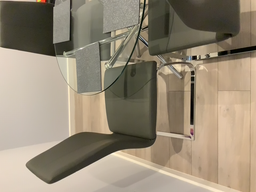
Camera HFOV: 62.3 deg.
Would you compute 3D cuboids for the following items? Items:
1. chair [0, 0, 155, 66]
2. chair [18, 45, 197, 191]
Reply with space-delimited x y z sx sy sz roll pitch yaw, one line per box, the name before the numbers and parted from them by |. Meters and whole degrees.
chair | -0.370 -0.520 1.630 0.590 0.980 0.460 16 104 47
chair | -0.060 0.070 1.300 0.460 1.000 0.570 4 95 48
